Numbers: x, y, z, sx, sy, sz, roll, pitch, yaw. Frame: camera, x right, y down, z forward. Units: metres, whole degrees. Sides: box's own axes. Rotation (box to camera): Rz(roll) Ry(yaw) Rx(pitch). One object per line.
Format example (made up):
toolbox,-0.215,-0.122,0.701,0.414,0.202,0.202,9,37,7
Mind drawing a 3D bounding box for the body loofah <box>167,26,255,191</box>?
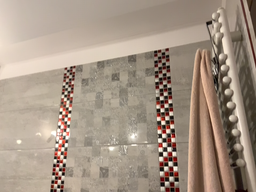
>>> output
body loofah,0.260,0.370,0.590,0.220,1.160,0.210,-5,-20,14
